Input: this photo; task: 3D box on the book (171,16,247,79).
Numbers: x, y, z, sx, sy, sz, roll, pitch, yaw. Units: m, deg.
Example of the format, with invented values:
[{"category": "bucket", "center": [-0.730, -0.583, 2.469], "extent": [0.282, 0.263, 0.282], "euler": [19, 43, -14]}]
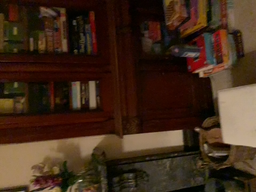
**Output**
[{"category": "book", "center": [0.690, -0.390, 1.880], "extent": [0.450, 0.390, 0.390], "euler": [155, 112, -69]}]

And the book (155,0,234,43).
[{"category": "book", "center": [0.590, -0.840, 1.980], "extent": [0.440, 0.500, 0.520], "euler": [158, 109, -69]}]
